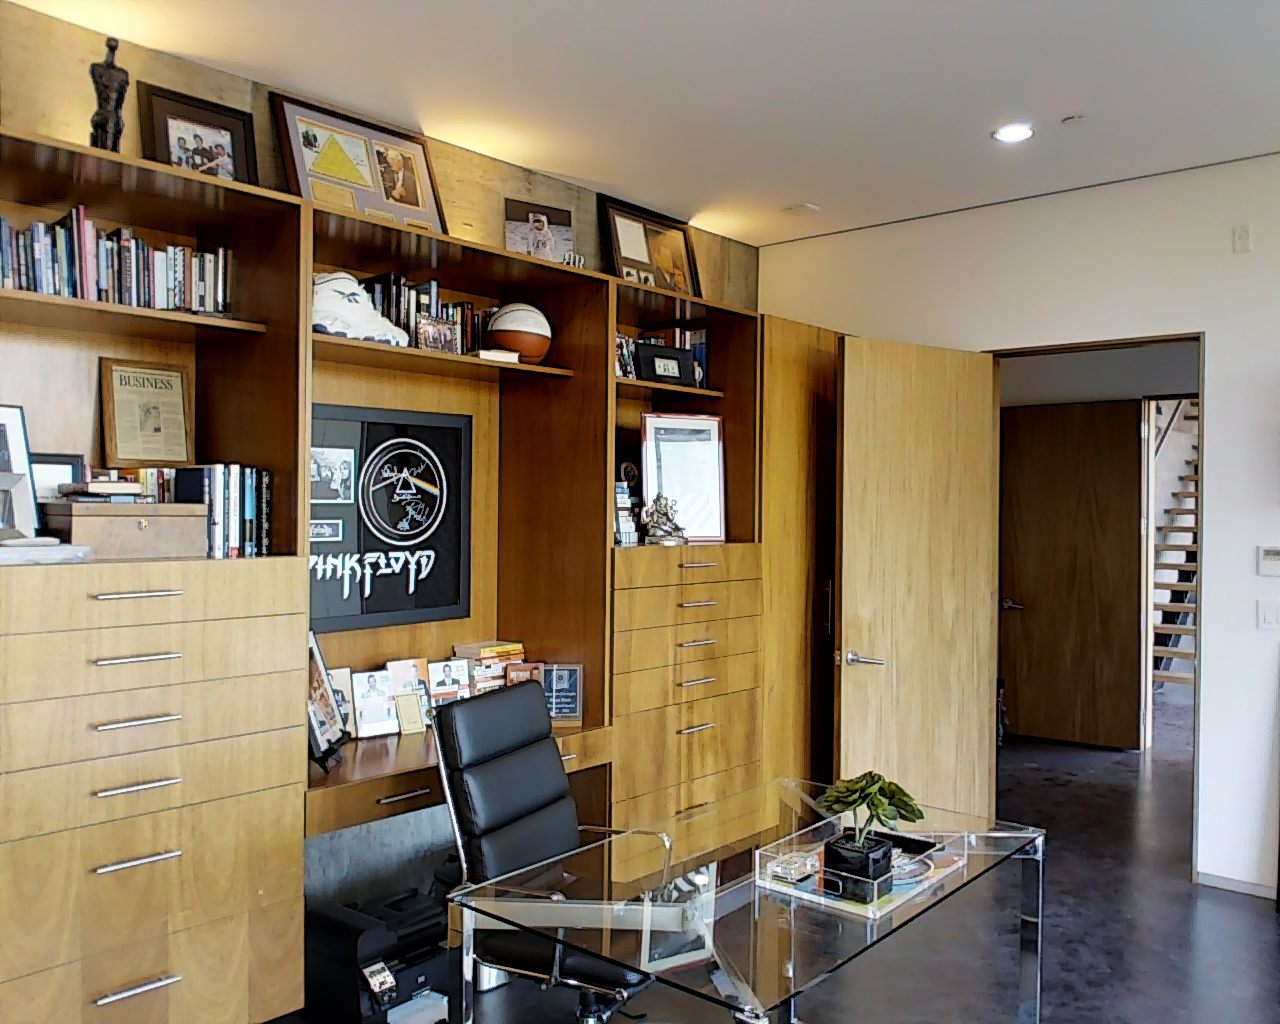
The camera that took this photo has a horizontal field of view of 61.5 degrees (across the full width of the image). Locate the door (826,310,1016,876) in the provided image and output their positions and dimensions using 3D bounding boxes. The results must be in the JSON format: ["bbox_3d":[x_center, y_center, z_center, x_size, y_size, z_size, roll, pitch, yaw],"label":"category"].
[{"bbox_3d":[1.290,0.350,4.860,1.040,2.390,0.090,1,1,-32],"label":"door"}]

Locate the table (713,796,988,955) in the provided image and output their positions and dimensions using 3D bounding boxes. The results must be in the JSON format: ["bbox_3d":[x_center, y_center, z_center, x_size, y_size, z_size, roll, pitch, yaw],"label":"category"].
[{"bbox_3d":[0.480,0.790,2.410,0.410,0.130,0.510,1,1,39],"label":"table"}]
